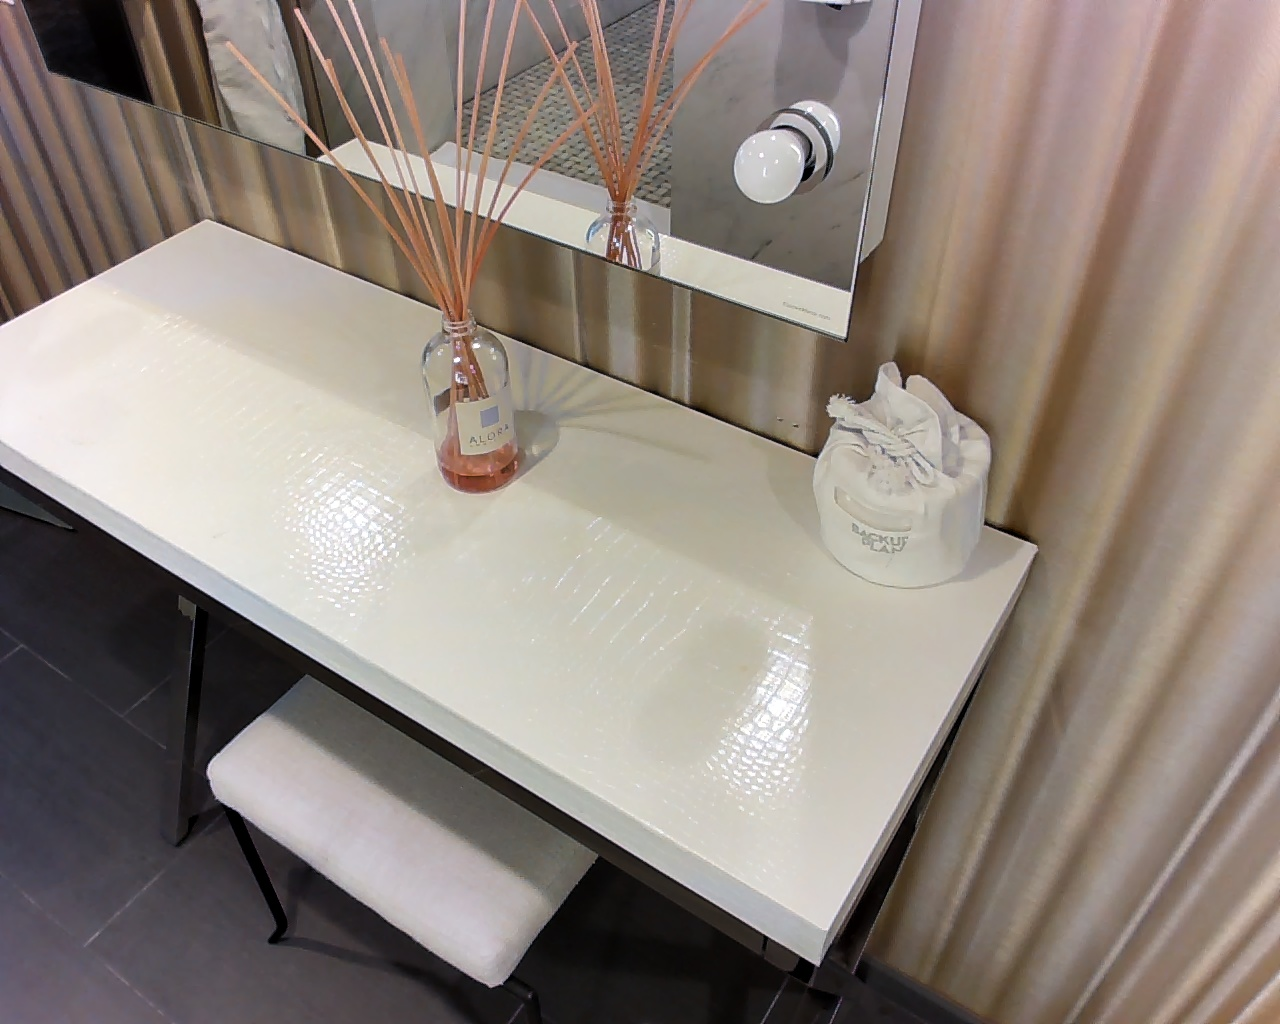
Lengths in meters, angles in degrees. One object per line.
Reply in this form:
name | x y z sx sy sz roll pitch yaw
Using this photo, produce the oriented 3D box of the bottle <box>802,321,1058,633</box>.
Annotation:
bottle | 0.230 -0.030 0.870 0.130 0.170 0.140 24 48 24
